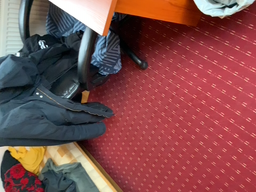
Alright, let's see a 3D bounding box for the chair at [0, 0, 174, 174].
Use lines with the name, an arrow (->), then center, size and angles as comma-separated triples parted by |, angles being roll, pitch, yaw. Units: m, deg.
chair -> -0.450, -0.270, 1.320 | 0.740, 1.070, 0.900 | 37, 120, 28
